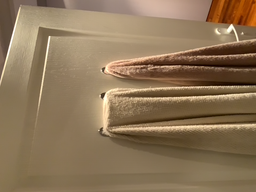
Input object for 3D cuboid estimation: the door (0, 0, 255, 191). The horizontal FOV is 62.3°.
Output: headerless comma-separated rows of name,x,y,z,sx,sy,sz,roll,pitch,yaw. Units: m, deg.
door,0.490,0.060,0.860,0.130,2.080,1.000,114,156,-65
